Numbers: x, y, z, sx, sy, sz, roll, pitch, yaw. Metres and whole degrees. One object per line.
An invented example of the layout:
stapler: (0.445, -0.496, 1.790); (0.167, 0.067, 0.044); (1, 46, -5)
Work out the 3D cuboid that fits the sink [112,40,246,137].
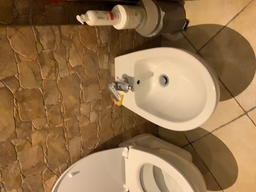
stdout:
sink: (0.230, -0.090, 1.050); (0.510, 0.340, 0.330); (15, 114, 41)
